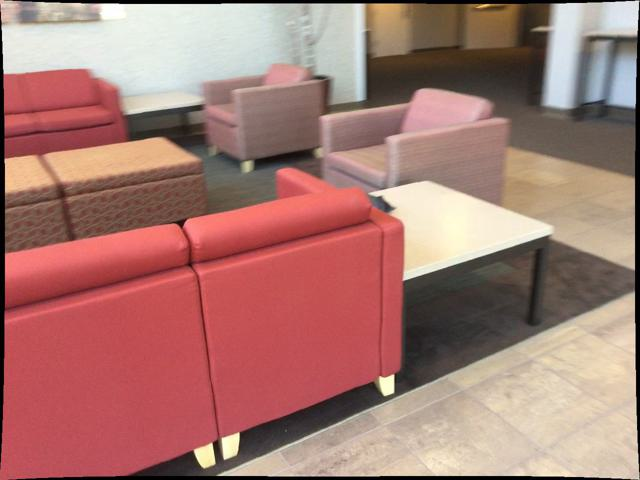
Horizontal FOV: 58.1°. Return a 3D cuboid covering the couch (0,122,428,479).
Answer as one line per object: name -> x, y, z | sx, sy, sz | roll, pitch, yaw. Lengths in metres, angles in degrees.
couch -> -0.769, 0.260, 1.770 | 2.098, 0.811, 0.810 | -15, 27, -26

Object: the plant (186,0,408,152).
plant -> -0.280, -2.704, 5.350 | 1.618, 3.274, 1.500 | -15, 27, -26

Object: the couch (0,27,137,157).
couch -> -2.626, -1.172, 4.600 | 1.968, 0.831, 0.880 | -15, 27, -26
